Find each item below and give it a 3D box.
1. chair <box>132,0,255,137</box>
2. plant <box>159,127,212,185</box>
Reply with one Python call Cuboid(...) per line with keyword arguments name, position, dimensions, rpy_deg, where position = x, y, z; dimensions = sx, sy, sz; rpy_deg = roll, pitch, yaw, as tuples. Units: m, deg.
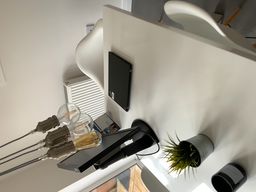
Cuboid(name="chair", position=(0.480, -0.250, 1.120), dimensions=(0.440, 0.780, 0.500), rpy_deg=(39, 137, 39))
Cuboid(name="plant", position=(0.240, 0.250, 0.900), dimensions=(0.130, 0.150, 0.140), rpy_deg=(37, 136, 41))
